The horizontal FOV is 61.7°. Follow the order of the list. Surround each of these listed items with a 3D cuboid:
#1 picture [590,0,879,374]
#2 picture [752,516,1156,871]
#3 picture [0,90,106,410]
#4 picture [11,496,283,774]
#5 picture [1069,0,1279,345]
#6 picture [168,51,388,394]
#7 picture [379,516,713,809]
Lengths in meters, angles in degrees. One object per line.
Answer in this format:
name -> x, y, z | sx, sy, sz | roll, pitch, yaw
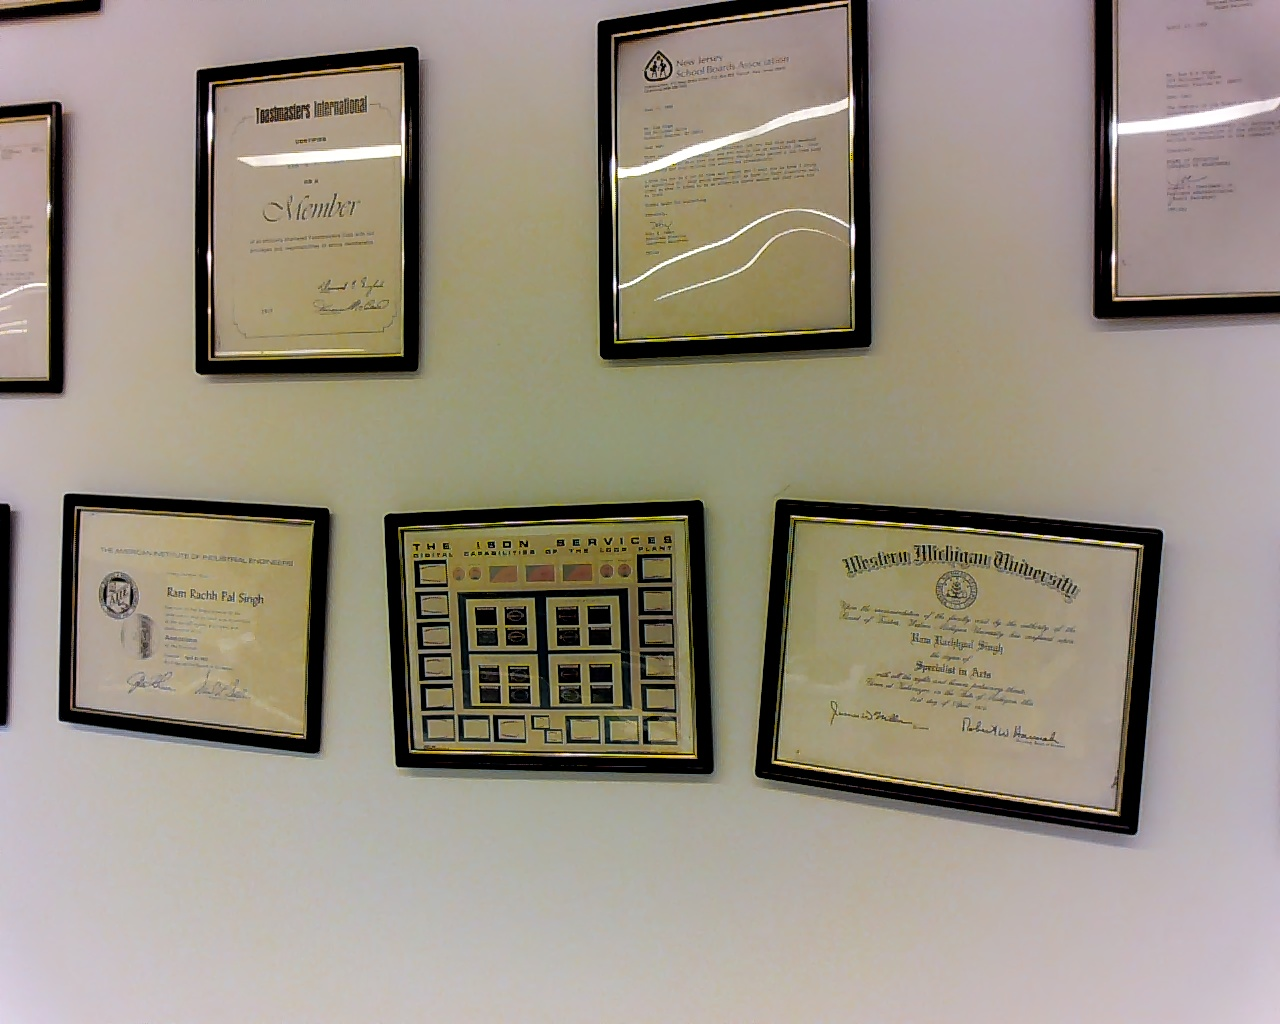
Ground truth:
picture -> 0.080, -0.280, 0.940 | 0.250, 0.310, 0.020 | 1, 0, 15
picture -> 0.250, 0.140, 0.880 | 0.310, 0.270, 0.030 | 1, 0, 15
picture -> -0.690, -0.270, 1.140 | 0.250, 0.320, 0.040 | 1, 0, 15
picture -> -0.510, 0.120, 1.100 | 0.310, 0.270, 0.020 | 1, 0, 15
picture -> 0.480, -0.300, 0.830 | 0.270, 0.330, 0.020 | 1, 0, 15
picture -> -0.360, -0.280, 1.060 | 0.230, 0.320, 0.020 | 1, 0, 15
picture -> -0.090, 0.130, 0.980 | 0.310, 0.250, 0.030 | 1, 0, 15
